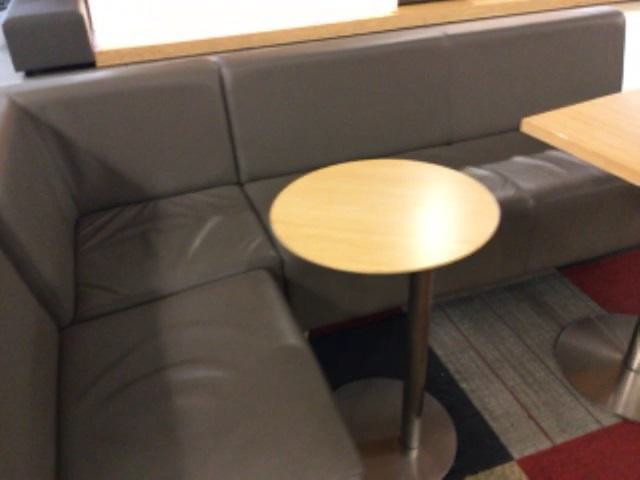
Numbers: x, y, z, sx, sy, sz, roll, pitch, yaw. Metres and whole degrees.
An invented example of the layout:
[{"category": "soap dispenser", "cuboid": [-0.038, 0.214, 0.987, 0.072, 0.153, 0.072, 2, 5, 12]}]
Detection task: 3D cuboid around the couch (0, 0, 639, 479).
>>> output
[{"category": "couch", "cuboid": [0.260, -0.020, 1.590, 2.290, 1.040, 1.450, -18, 36, -6]}]
